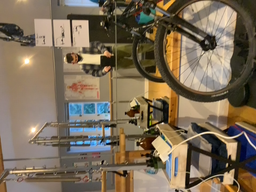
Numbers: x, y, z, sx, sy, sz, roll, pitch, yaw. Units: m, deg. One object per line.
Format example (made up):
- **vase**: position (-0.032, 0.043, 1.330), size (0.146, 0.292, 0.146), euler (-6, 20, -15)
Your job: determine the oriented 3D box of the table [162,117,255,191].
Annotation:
- **table**: position (0.640, 0.360, 1.480), size (0.490, 0.680, 0.300), euler (-131, 41, -79)
